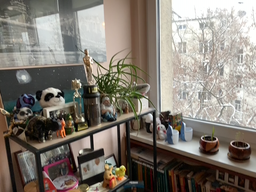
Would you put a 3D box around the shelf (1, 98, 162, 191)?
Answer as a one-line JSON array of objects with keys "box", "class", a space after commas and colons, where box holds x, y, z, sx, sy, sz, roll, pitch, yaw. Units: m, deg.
[{"box": [-0.180, 0.660, 1.320, 0.370, 1.140, 0.830, 8, 15, 42], "class": "shelf"}]
